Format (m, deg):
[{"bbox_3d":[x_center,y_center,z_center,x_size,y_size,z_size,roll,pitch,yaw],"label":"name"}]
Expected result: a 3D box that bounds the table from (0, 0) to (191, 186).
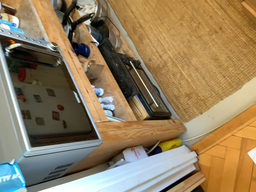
[{"bbox_3d":[-0.310,-0.340,1.440,0.360,0.840,1.570,-41,65,26],"label":"table"}]
